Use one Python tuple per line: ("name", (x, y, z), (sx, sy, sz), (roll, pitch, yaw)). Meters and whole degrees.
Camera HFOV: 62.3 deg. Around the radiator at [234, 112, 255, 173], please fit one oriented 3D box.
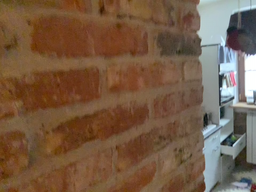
("radiator", (2.150, 0.750, 3.190), (0.970, 0.880, 0.220), (4, 11, 44))
